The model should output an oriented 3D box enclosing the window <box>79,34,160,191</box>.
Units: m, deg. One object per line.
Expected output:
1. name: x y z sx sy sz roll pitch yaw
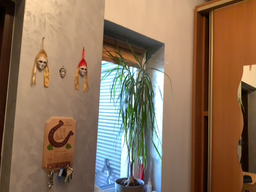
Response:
1. window: -0.030 0.200 1.440 0.530 1.080 0.180 7 -7 -44
